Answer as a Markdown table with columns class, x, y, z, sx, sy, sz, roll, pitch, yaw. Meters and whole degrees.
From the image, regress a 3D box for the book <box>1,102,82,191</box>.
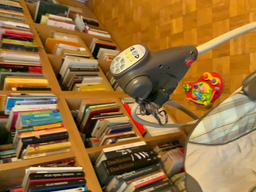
| class | x | y | z | sx | sy | sz | roll | pitch | yaw |
| --- | --- | --- | --- | --- | --- | --- | --- | --- | --- |
| book | -0.470 | 0.260 | 1.110 | 0.310 | 0.270 | 0.330 | 56 | 130 | 33 |

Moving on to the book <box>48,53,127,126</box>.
| class | x | y | z | sx | sy | sz | roll | pitch | yaw |
| --- | --- | --- | --- | --- | --- | --- | --- | --- | --- |
| book | -0.320 | -0.050 | 1.610 | 0.330 | 0.390 | 0.390 | -56 | 51 | 35 |

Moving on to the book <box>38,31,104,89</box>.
| class | x | y | z | sx | sy | sz | roll | pitch | yaw |
| --- | --- | --- | --- | --- | --- | --- | --- | --- | --- |
| book | -0.500 | -0.300 | 1.820 | 0.380 | 0.380 | 0.300 | 53 | 129 | 35 |
